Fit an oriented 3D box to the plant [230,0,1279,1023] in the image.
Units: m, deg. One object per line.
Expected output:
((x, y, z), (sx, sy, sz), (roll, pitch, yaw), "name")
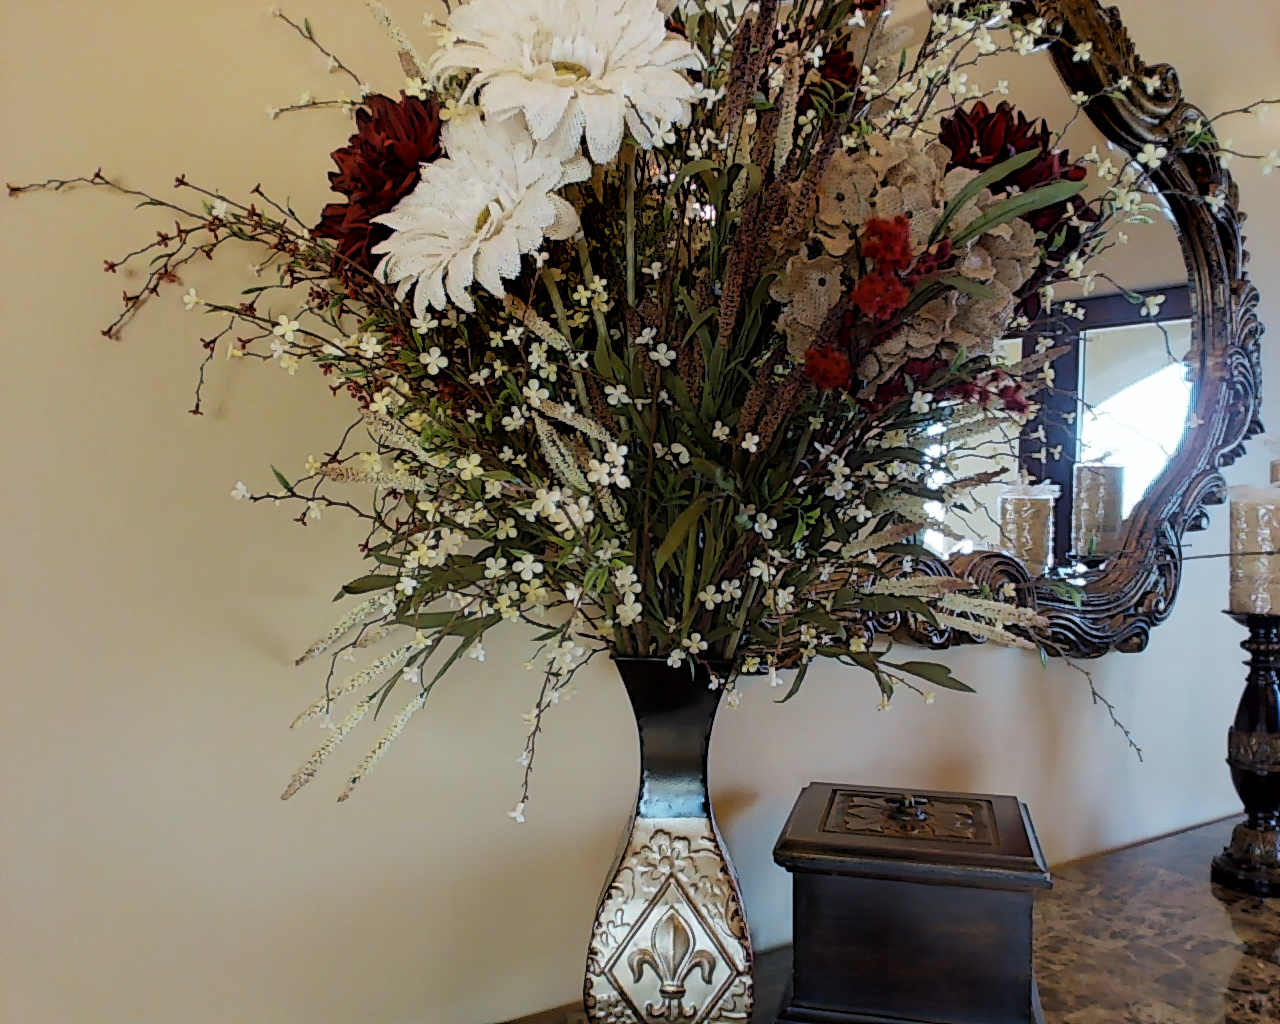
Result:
((0.080, -0.150, 0.800), (0.610, 1.260, 0.600), (0, 0, -33), "plant")

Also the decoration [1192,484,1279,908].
((0.840, 0.230, 1.410), (0.150, 0.530, 0.140), (0, 0, -33), "decoration")

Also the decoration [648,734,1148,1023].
((0.240, 0.380, 1.040), (0.320, 0.230, 0.350), (0, 0, -36), "decoration")
